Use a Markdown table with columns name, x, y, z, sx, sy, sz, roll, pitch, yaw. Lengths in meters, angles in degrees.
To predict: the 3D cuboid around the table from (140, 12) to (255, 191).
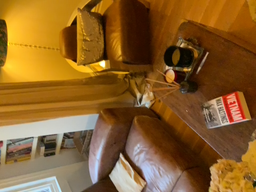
| name | x | y | z | sx | sy | sz | roll | pitch | yaw |
| --- | --- | --- | --- | --- | --- | --- | --- | --- | --- |
| table | 0.660 | 0.050 | 1.180 | 1.050 | 0.510 | 0.600 | 46 | 125 | 40 |
